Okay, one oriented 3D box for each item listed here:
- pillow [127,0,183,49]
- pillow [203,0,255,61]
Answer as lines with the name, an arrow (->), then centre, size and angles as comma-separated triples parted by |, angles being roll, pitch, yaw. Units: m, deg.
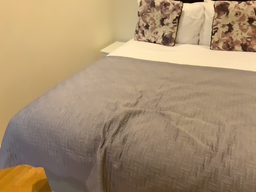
pillow -> 0.240, -0.710, 2.020 | 0.430, 0.380, 0.170 | 23, 36, 20
pillow -> 0.900, -0.560, 1.720 | 0.420, 0.420, 0.150 | 21, 35, 15
